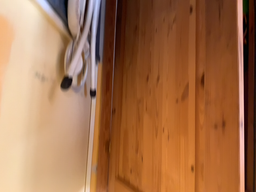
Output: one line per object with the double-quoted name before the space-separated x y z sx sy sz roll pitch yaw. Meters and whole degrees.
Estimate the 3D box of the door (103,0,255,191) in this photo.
"door" 0.130 -0.470 0.930 0.040 2.010 0.900 5 175 -28
